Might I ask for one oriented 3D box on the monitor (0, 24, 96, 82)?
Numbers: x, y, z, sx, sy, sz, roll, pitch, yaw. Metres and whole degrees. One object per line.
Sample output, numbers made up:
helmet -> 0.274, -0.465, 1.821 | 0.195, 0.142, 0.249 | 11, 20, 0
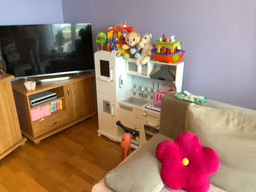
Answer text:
monitor -> -0.940, -0.550, 2.650 | 1.060, 0.640, 0.060 | -9, 23, -23

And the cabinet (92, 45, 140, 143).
cabinet -> -0.130, -0.040, 2.530 | 0.330, 1.050, 0.430 | 15, 26, 34

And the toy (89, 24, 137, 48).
toy -> -0.170, -0.700, 2.440 | 0.460, 0.210, 0.310 | 17, 27, 37

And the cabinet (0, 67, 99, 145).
cabinet -> -0.990, 0.050, 2.870 | 0.610, 0.630, 1.040 | 16, 26, 34
